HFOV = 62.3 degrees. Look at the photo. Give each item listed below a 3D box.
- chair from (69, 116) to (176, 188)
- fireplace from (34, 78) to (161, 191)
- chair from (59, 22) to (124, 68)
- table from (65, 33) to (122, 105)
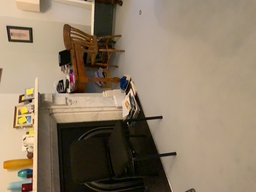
[{"bbox_3d":[-0.090,0.540,2.110,0.480,0.890,0.440,117,145,-49],"label":"chair"},{"bbox_3d":[-0.470,0.750,2.600,0.660,1.230,2.020,115,146,-47],"label":"fireplace"},{"bbox_3d":[-0.580,-0.760,3.290,0.500,0.880,0.390,123,140,-54],"label":"chair"},{"bbox_3d":[-0.650,-0.470,3.670,0.630,0.730,1.080,113,147,-45],"label":"table"}]
